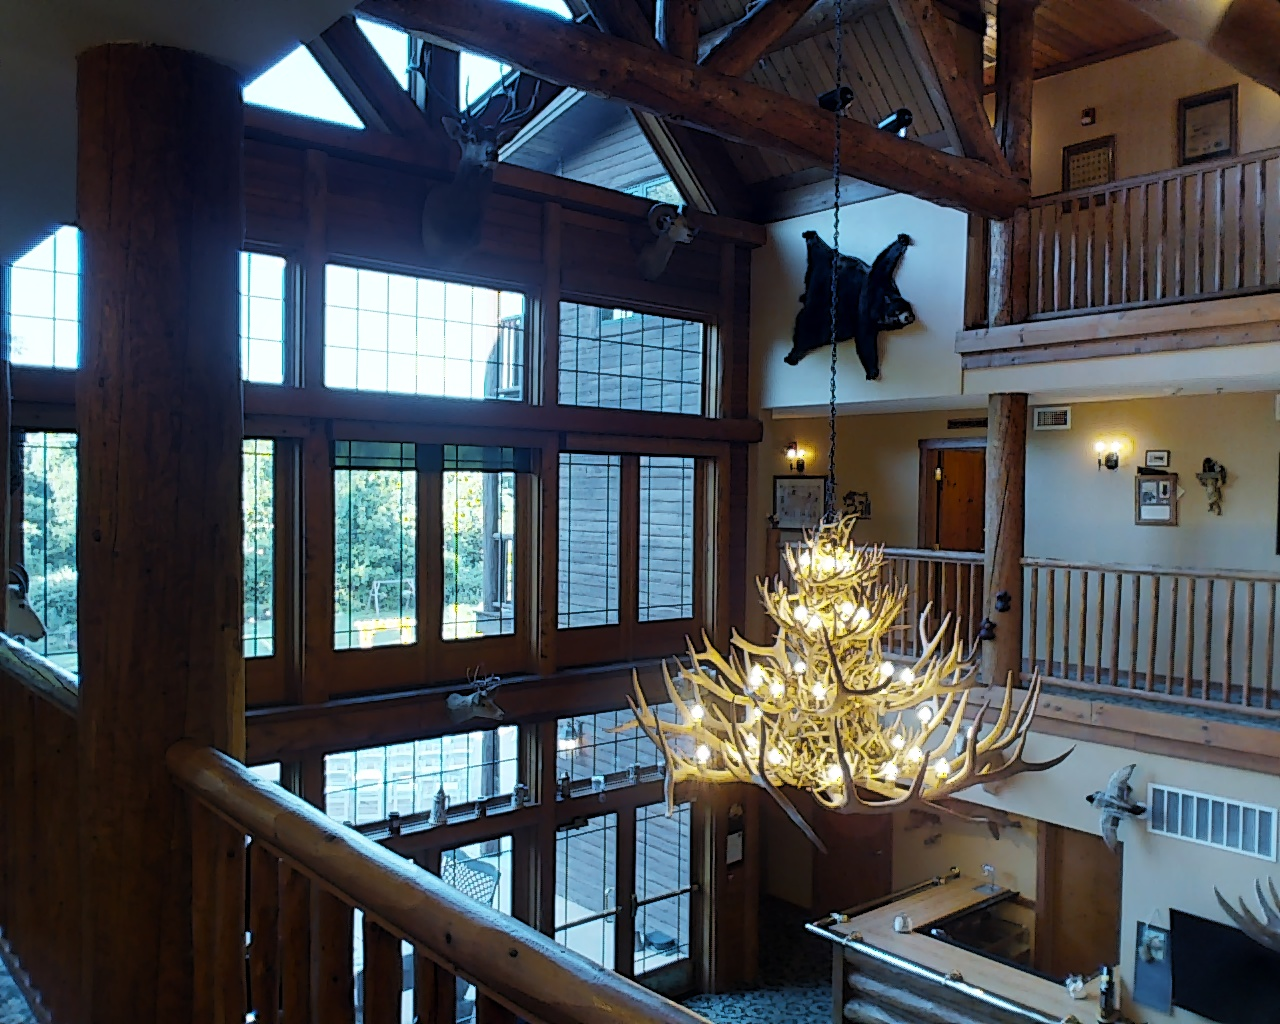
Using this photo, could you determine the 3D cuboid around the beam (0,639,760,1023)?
[{"bbox_3d":[-1.630,3.001,8.910,6.929,3.281,0.560,0,1,-40],"label":"beam"}]
